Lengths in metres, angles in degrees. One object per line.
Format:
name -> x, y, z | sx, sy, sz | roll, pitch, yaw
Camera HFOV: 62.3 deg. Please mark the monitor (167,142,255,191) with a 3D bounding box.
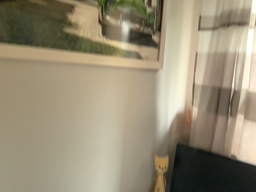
monitor -> 0.410, 0.450, 0.900 | 0.500, 0.370, 0.040 | 11, 1, 37
